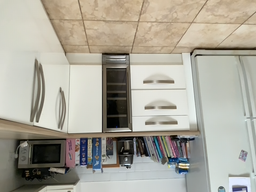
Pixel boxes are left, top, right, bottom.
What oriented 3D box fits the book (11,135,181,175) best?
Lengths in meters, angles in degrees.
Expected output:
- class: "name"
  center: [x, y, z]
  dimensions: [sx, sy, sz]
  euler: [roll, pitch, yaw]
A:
- class: "book"
  center: [-0.330, 0.670, 2.490]
  dimensions: [1.850, 0.370, 0.250]
  euler: [0, 168, -7]
